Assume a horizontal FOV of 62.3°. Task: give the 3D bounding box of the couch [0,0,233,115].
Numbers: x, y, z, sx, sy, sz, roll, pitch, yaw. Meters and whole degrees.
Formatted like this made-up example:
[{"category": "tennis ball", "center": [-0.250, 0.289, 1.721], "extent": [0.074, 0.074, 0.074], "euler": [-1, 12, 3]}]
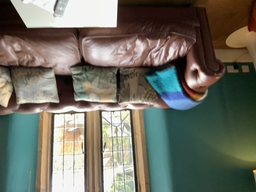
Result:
[{"category": "couch", "center": [-0.480, -0.330, 1.980], "extent": [2.370, 0.750, 0.960], "euler": [-2, 164, -7]}]
